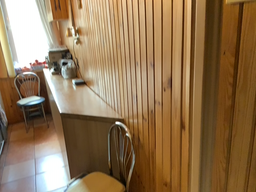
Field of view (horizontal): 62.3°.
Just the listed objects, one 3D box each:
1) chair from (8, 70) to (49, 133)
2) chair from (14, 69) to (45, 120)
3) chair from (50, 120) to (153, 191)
[{"bbox_3d":[-1.530,0.070,3.320,0.400,0.830,0.470,-10,19,-21],"label":"chair"},{"bbox_3d":[-1.690,-0.030,3.670,0.330,0.830,0.140,-10,19,-21],"label":"chair"},{"bbox_3d":[-0.160,0.650,1.320,0.450,0.800,0.480,-11,19,-22],"label":"chair"}]
